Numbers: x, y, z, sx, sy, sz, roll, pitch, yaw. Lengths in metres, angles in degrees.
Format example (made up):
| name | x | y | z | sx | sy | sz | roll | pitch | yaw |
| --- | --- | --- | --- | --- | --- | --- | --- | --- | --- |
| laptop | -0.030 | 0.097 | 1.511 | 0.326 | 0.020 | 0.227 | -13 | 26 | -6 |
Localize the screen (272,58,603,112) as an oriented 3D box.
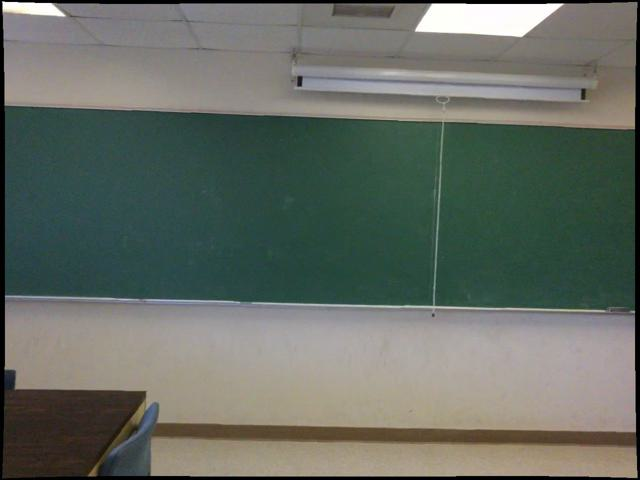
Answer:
| name | x | y | z | sx | sy | sz | roll | pitch | yaw |
| --- | --- | --- | --- | --- | --- | --- | --- | --- | --- |
| screen | 0.688 | -0.942 | 3.520 | 1.945 | 0.241 | 0.230 | 1 | 5 | 0 |
